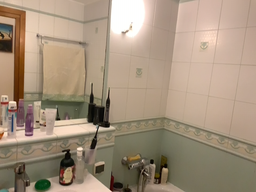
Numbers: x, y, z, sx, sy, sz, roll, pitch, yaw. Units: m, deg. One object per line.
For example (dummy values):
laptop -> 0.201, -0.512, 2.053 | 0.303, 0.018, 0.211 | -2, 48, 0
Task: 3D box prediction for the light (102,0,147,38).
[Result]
light -> -0.020, -0.580, 1.480 | 0.260, 0.290, 0.140 | -1, 10, -41
